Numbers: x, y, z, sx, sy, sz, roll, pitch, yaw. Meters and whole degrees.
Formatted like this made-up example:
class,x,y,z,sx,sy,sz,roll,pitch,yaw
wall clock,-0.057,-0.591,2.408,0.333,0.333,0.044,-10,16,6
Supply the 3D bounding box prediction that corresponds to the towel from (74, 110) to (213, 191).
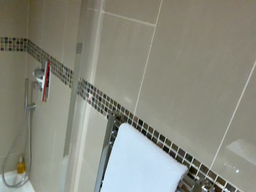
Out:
class,x,y,z,sx,sy,sz,roll,pitch,yaw
towel,-0.020,0.360,0.690,0.100,0.510,0.360,-3,30,-46
